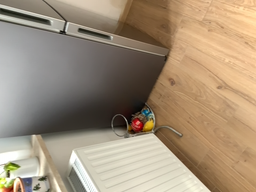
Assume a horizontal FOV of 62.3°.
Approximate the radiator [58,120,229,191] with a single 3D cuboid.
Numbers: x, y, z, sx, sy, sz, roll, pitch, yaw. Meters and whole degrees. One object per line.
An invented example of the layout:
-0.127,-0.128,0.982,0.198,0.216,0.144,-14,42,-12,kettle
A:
0.120,0.440,1.110,0.730,0.700,0.150,44,120,37,radiator
